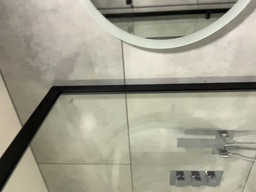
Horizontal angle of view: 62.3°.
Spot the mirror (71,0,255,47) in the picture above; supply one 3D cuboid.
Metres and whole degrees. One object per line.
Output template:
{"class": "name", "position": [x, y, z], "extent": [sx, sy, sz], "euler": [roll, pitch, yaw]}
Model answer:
{"class": "mirror", "position": [0.100, -0.430, 0.610], "extent": [0.050, 0.580, 0.560], "euler": [-85, -7, -56]}
